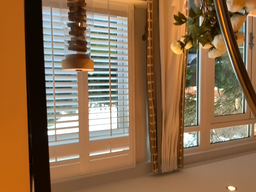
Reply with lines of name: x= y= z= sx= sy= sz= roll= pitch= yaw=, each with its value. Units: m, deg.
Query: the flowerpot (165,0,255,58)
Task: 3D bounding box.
flowerpot: x=0.440 y=-0.550 z=1.150 sx=0.230 sy=0.620 sz=0.480 roll=-3 pitch=-176 yaw=-26
